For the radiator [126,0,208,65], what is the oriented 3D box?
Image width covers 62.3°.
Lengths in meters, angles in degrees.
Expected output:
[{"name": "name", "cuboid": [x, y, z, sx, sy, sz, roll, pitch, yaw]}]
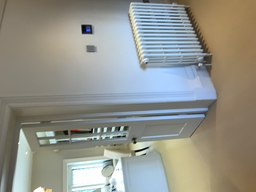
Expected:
[{"name": "radiator", "cuboid": [0.430, -0.820, 2.570, 0.190, 0.770, 0.950, 109, 155, -59]}]
